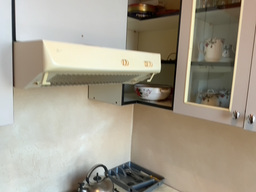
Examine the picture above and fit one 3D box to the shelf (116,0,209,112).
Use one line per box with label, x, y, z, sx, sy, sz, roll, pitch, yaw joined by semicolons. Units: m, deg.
shelf;0.180;-0.290;1.190;0.390;0.670;0.270;12;12;44
